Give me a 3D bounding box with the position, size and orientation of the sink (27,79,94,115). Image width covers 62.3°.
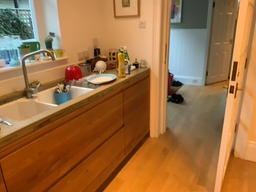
[{"bbox_3d":[-0.560,-0.010,1.780,0.460,0.160,0.280,9,22,26],"label":"sink"}]

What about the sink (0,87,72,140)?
[{"bbox_3d":[-0.710,0.100,1.530,0.460,0.190,0.340,9,22,26],"label":"sink"}]
